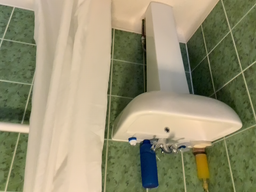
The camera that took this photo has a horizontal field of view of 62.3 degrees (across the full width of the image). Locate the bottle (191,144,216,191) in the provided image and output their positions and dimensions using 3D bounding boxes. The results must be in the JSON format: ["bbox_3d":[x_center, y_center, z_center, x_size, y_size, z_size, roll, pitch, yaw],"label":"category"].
[{"bbox_3d":[0.380,0.370,1.080,0.060,0.230,0.070,8,152,-15],"label":"bottle"}]

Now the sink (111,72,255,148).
[{"bbox_3d":[0.210,0.100,0.990,0.500,0.160,0.400,7,152,-13],"label":"sink"}]
